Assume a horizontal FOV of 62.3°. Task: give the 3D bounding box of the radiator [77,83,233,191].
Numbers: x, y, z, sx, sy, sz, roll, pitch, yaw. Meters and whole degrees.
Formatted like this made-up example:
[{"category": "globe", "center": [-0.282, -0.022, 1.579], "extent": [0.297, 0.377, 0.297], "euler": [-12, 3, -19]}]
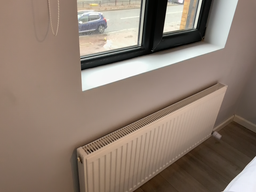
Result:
[{"category": "radiator", "center": [0.260, 0.310, 1.390], "extent": [1.240, 0.530, 0.060], "euler": [-20, 39, -34]}]
